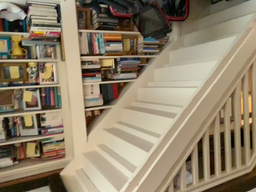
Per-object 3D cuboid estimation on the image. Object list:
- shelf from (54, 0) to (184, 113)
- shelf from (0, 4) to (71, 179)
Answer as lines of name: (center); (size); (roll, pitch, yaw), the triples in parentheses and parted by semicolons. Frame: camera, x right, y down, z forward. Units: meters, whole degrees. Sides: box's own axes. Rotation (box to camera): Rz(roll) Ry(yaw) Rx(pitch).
shelf: (-0.070, -0.820, 2.320); (1.320, 1.800, 0.440); (-6, -174, -28)
shelf: (-1.300, -0.010, 1.840); (1.440, 1.510, 0.190); (-6, -174, -28)
